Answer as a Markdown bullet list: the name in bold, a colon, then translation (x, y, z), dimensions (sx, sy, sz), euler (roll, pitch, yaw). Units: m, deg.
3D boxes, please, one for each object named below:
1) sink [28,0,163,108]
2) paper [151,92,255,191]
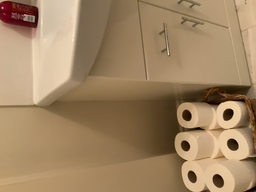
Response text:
- **sink**: translation (-0.180, -0.430, 0.690), dimensions (0.500, 0.190, 0.870), euler (-19, 74, 55)
- **paper**: translation (0.370, 0.210, 0.930), dimensions (0.360, 0.340, 0.380), euler (-21, 72, 54)
